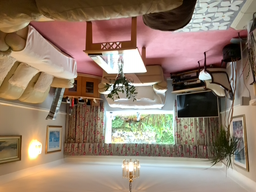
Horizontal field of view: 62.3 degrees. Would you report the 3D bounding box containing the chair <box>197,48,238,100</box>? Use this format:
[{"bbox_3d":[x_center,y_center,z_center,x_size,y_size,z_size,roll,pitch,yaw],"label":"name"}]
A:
[{"bbox_3d":[1.780,-0.410,4.330,0.590,0.910,0.660,-1,171,9],"label":"chair"}]
